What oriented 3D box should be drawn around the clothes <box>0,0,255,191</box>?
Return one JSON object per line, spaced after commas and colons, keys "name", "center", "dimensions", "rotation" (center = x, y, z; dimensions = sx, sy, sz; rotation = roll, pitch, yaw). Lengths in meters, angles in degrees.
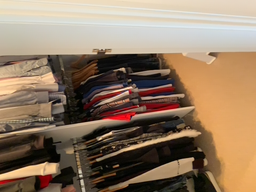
{"name": "clothes", "center": [-0.510, -0.070, 1.600], "dimensions": [0.680, 2.010, 2.320], "rotation": [125, 134, -55]}
